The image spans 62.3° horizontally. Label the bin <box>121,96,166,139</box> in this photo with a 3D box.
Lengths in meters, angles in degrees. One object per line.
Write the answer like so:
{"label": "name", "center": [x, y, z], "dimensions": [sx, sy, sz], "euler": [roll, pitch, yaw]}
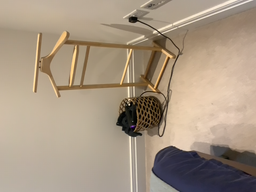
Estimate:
{"label": "bin", "center": [0.130, 0.170, 1.850], "dimensions": [0.260, 0.290, 0.330], "euler": [1, 93, 59]}
